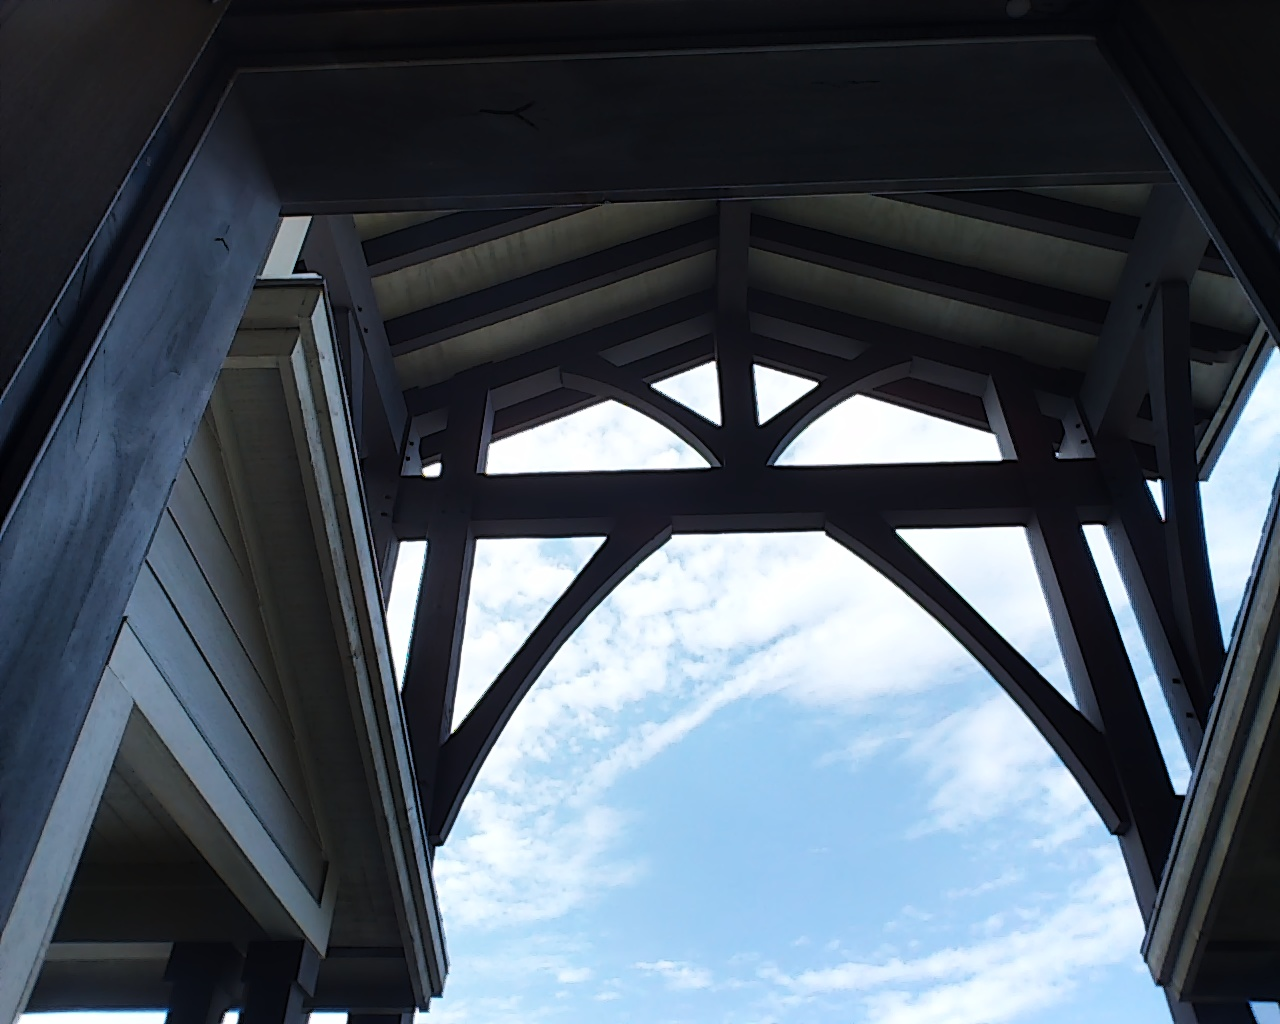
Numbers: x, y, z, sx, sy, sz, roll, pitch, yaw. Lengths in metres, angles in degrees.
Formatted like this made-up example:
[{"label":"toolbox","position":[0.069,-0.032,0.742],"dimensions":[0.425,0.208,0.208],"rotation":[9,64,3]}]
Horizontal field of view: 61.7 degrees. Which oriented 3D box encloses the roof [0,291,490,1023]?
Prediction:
[{"label":"roof","position":[-1.150,0.810,3.890],"dimensions":[0.660,1.200,3.030],"rotation":[-1,-41,2]}]
